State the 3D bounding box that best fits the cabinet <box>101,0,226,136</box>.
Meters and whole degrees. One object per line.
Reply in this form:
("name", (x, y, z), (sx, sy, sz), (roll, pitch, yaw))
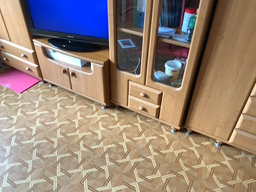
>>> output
("cabinet", (0.250, -0.660, 1.470), (0.730, 1.920, 0.470), (22, 43, 22))
